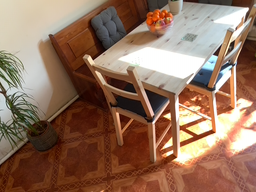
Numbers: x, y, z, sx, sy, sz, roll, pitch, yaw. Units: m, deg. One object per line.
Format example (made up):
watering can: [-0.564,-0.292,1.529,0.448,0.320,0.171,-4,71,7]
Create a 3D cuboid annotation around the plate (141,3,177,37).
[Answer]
plate: [0.260,-0.630,1.750,0.190,0.160,0.220,29,56,37]
